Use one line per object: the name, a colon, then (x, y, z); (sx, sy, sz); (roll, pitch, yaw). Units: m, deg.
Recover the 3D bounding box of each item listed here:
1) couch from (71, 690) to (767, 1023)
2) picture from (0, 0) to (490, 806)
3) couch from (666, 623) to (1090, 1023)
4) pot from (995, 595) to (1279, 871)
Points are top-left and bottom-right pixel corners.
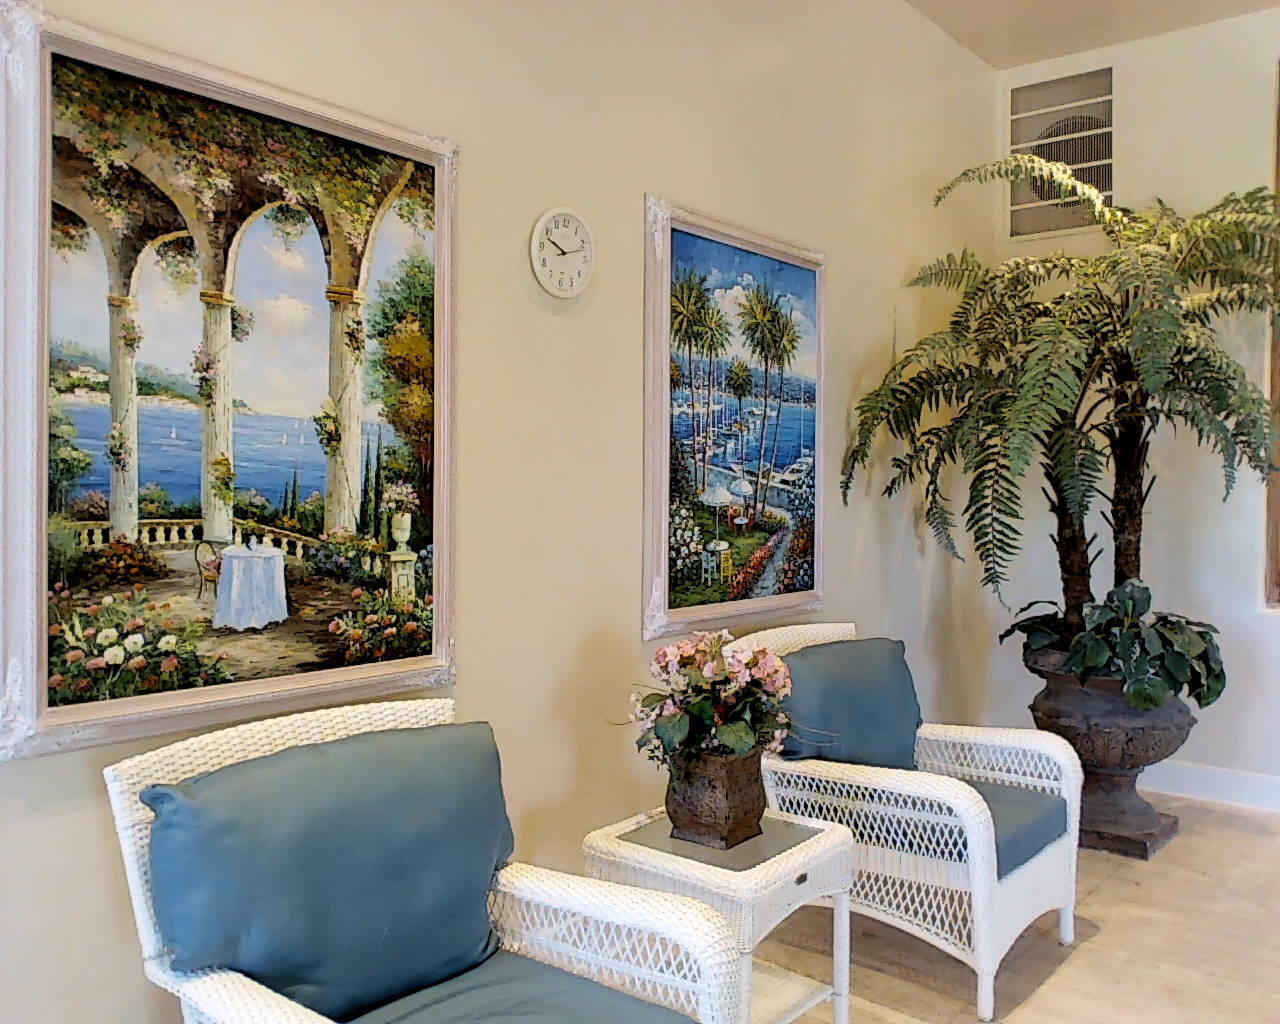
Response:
couch: (-0.420, 0.910, 2.000); (1.010, 0.910, 0.810); (2, 2, 40)
picture: (-0.780, -0.230, 2.300); (0.100, 1.470, 1.110); (2, 2, 40)
couch: (0.750, 0.880, 3.390); (1.020, 0.890, 0.840); (2, 2, 40)
pot: (1.980, 0.850, 4.350); (0.770, 0.950, 0.720); (1, 1, -6)
